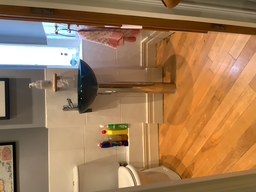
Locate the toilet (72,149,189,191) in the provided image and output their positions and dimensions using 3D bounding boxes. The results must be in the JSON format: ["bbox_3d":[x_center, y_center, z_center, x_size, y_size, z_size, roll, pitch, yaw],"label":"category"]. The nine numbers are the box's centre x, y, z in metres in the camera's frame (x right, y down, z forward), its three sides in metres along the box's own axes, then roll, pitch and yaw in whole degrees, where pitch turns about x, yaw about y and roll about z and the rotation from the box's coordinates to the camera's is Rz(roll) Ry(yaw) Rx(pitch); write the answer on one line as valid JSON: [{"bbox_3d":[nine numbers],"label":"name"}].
[{"bbox_3d":[-0.030,0.780,1.870,0.680,0.860,0.400,176,93,-73],"label":"toilet"}]
